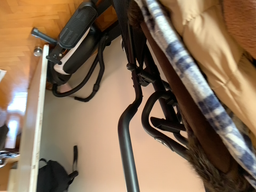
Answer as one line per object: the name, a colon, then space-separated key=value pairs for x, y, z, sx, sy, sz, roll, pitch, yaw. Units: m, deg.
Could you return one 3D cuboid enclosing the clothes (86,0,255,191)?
clothes: x=0.220 y=-0.280 z=0.920 sx=0.340 sy=1.350 sz=0.730 roll=-27 pitch=148 yaw=35
